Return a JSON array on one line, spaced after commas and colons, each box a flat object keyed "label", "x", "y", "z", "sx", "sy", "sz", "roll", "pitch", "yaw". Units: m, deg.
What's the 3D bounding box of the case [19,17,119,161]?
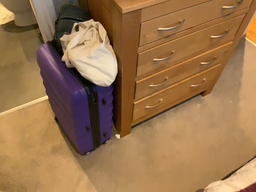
[{"label": "case", "x": -0.330, "y": -0.020, "z": 1.330, "sx": 0.310, "sy": 0.650, "sz": 0.560, "roll": -25, "pitch": 58, "yaw": -19}]
